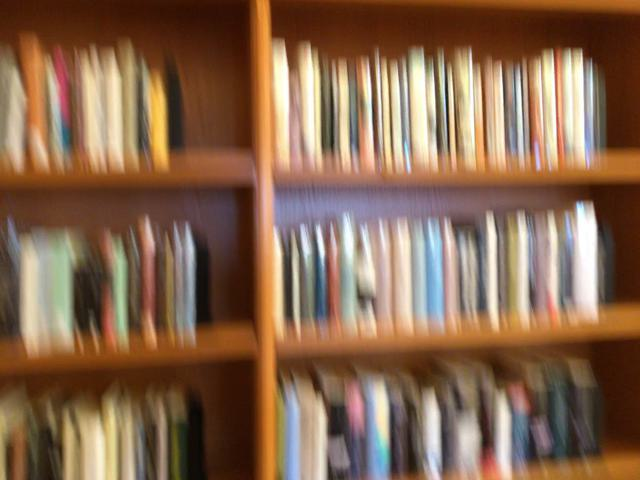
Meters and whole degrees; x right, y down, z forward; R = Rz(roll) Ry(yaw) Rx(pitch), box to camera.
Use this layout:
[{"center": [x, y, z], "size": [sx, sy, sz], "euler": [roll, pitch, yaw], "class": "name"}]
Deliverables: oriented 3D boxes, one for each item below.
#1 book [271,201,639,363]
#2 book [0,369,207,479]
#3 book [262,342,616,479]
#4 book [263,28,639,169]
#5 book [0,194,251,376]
[{"center": [0.340, 0.080, 1.340], "size": [0.880, 0.300, 0.160], "euler": [-3, 0, -11], "class": "book"}, {"center": [-0.620, 0.470, 1.170], "size": [0.760, 0.310, 0.180], "euler": [-3, 0, -11], "class": "book"}, {"center": [0.270, 0.440, 1.360], "size": [0.780, 0.300, 0.220], "euler": [-3, 0, -11], "class": "book"}, {"center": [0.320, -0.310, 1.280], "size": [0.870, 0.270, 0.090], "euler": [-3, 0, -11], "class": "book"}, {"center": [-0.570, 0.090, 1.160], "size": [0.830, 0.320, 0.180], "euler": [-3, 0, -11], "class": "book"}]
